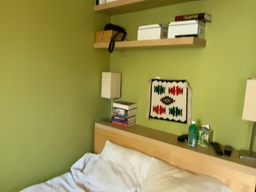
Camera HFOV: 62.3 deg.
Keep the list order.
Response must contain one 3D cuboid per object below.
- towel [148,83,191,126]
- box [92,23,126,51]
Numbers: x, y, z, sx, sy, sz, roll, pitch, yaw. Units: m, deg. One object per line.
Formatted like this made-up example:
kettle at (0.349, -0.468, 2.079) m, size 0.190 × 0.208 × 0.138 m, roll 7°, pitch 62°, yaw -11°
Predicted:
towel at (0.380, 0.070, 2.000) m, size 0.380 × 0.360 × 0.050 m, roll 8°, pitch 10°, yaw 33°
box at (-0.200, -0.610, 2.240) m, size 0.260 × 0.240 × 0.230 m, roll 10°, pitch 11°, yaw 39°
